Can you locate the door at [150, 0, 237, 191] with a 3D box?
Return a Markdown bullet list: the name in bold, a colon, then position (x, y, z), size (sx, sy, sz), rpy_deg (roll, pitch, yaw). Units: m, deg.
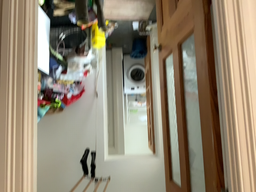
- **door**: position (0.310, -0.260, 1.330), size (0.120, 2.060, 0.850), rpy_deg (-1, 174, -6)
